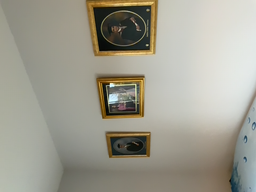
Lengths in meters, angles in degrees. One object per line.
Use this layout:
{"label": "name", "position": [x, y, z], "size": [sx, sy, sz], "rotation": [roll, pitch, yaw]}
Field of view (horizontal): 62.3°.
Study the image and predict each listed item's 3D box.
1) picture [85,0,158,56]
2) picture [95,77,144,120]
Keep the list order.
{"label": "picture", "position": [-0.030, -0.360, 1.160], "size": [0.020, 0.360, 0.310], "rotation": [-86, -5, -50]}
{"label": "picture", "position": [-0.050, 0.030, 1.470], "size": [0.030, 0.310, 0.370], "rotation": [-86, -4, -49]}
